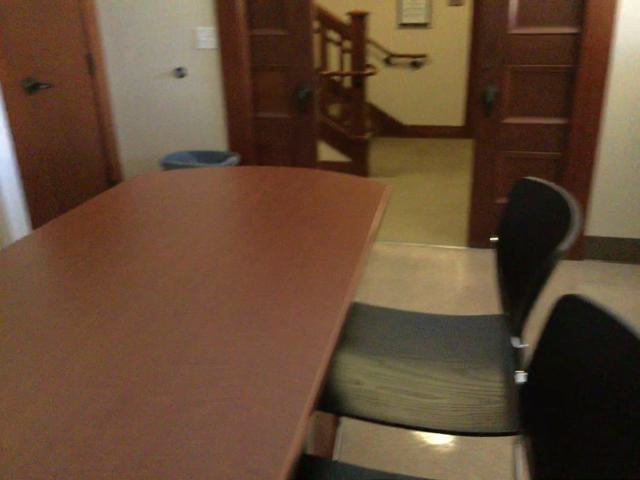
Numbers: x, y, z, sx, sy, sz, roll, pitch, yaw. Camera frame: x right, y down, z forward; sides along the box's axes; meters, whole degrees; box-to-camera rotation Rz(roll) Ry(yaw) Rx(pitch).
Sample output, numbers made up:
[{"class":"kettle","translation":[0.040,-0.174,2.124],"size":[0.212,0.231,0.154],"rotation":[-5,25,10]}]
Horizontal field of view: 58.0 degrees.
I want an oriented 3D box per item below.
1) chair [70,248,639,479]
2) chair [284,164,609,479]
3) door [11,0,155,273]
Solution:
[{"class":"chair","translation":[0.110,0.550,0.860],"size":[0.570,0.920,0.480],"rotation":[5,23,13]},{"class":"chair","translation":[0.260,0.340,1.350],"size":[0.530,0.910,0.480],"rotation":[5,23,13]},{"class":"door","translation":[-1.230,-0.720,3.120],"size":[0.110,1.620,0.760],"rotation":[5,23,14]}]
